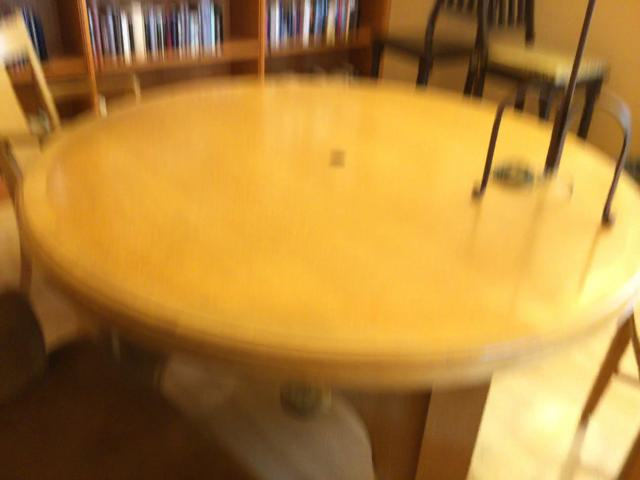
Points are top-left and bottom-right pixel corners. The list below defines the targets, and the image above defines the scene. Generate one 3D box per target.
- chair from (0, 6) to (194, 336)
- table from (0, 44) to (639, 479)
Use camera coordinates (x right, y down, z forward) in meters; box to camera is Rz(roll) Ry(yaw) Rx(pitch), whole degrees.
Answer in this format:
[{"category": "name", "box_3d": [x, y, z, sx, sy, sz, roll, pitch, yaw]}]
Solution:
[{"category": "chair", "box_3d": [-0.890, -0.270, 1.990, 0.680, 0.900, 0.770, 0, 29, -1]}, {"category": "table", "box_3d": [0.030, 0.080, 1.620, 1.510, 0.830, 1.460, -22, 36, -34]}]
